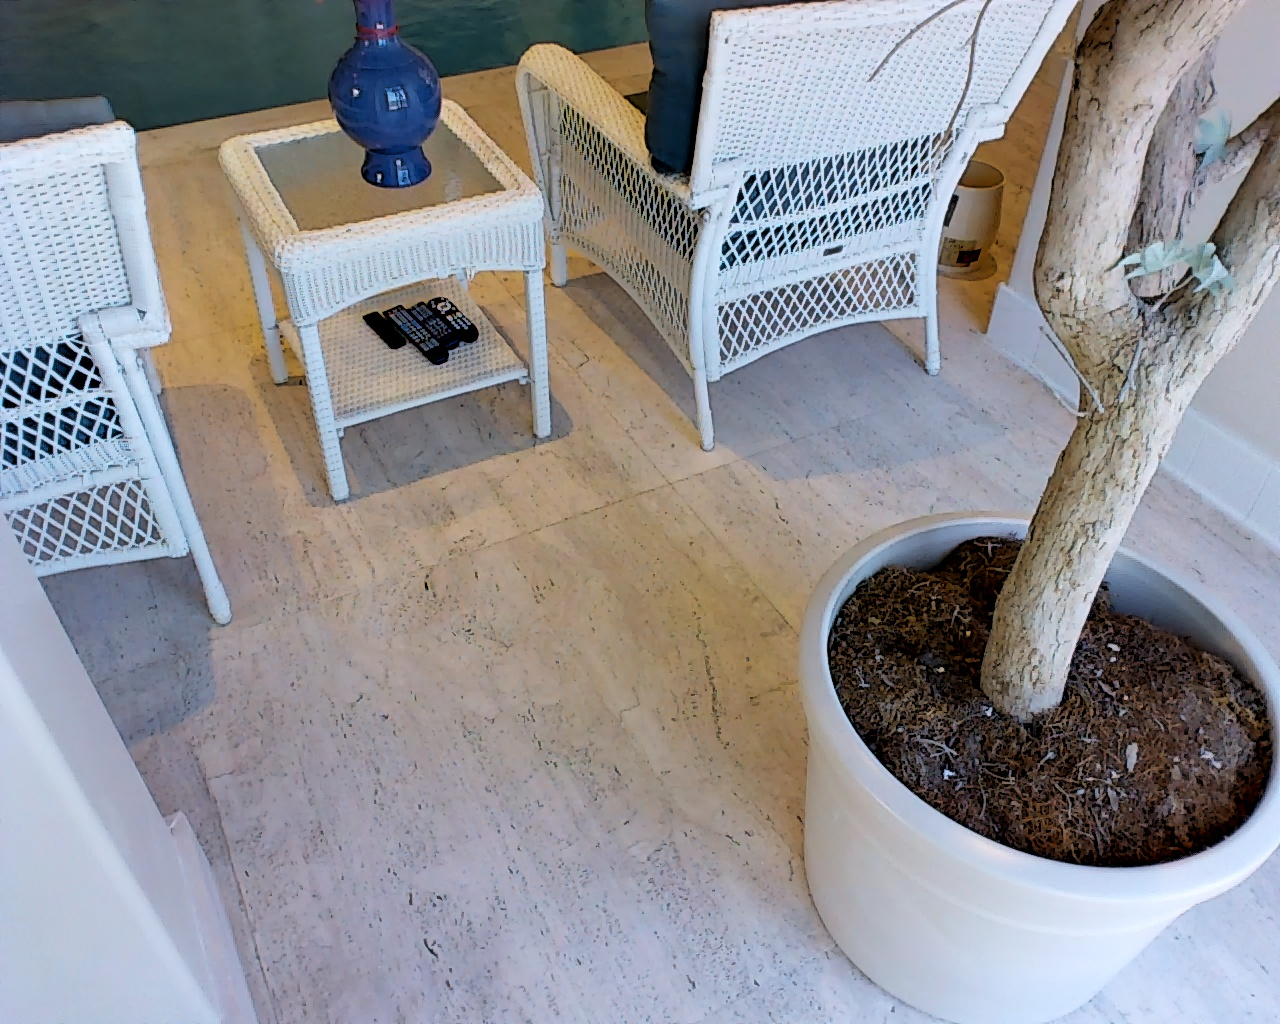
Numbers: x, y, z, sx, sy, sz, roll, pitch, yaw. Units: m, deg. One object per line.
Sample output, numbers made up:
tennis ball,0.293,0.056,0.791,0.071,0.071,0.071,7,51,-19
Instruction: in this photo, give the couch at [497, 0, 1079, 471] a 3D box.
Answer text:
couch,0.250,-0.800,2.340,0.820,0.910,0.840,-20,45,-22
